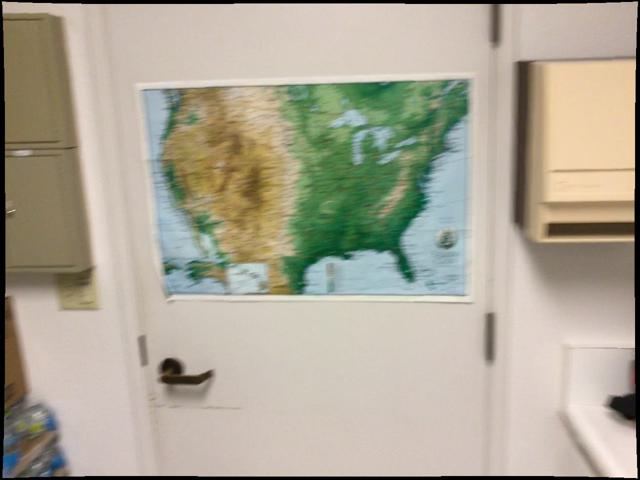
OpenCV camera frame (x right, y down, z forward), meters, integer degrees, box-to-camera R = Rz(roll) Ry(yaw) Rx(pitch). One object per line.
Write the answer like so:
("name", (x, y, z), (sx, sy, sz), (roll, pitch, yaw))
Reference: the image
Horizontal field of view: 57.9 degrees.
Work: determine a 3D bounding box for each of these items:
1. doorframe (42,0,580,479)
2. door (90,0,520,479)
("doorframe", (-0.020, 0.020, 1.460), (1.219, 1.622, 0.060), (-1, 13, 5))
("door", (-0.020, 0.130, 1.460), (0.949, 1.662, 0.090), (-1, 13, 5))
